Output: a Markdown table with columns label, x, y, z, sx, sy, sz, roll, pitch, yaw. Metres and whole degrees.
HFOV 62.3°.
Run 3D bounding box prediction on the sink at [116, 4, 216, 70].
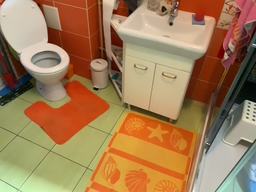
| label | x | y | z | sx | sy | sz | roll | pitch | yaw |
| --- | --- | --- | --- | --- | --- | --- | --- | --- | --- |
| sink | 0.280 | -0.460 | 1.560 | 0.620 | 0.180 | 0.420 | 17 | 46 | 14 |

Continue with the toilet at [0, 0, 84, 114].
| label | x | y | z | sx | sy | sz | roll | pitch | yaw |
| --- | --- | --- | --- | --- | --- | --- | --- | --- | --- |
| toilet | -0.800 | -0.400 | 1.900 | 0.390 | 0.810 | 0.700 | -32 | 54 | -31 |
